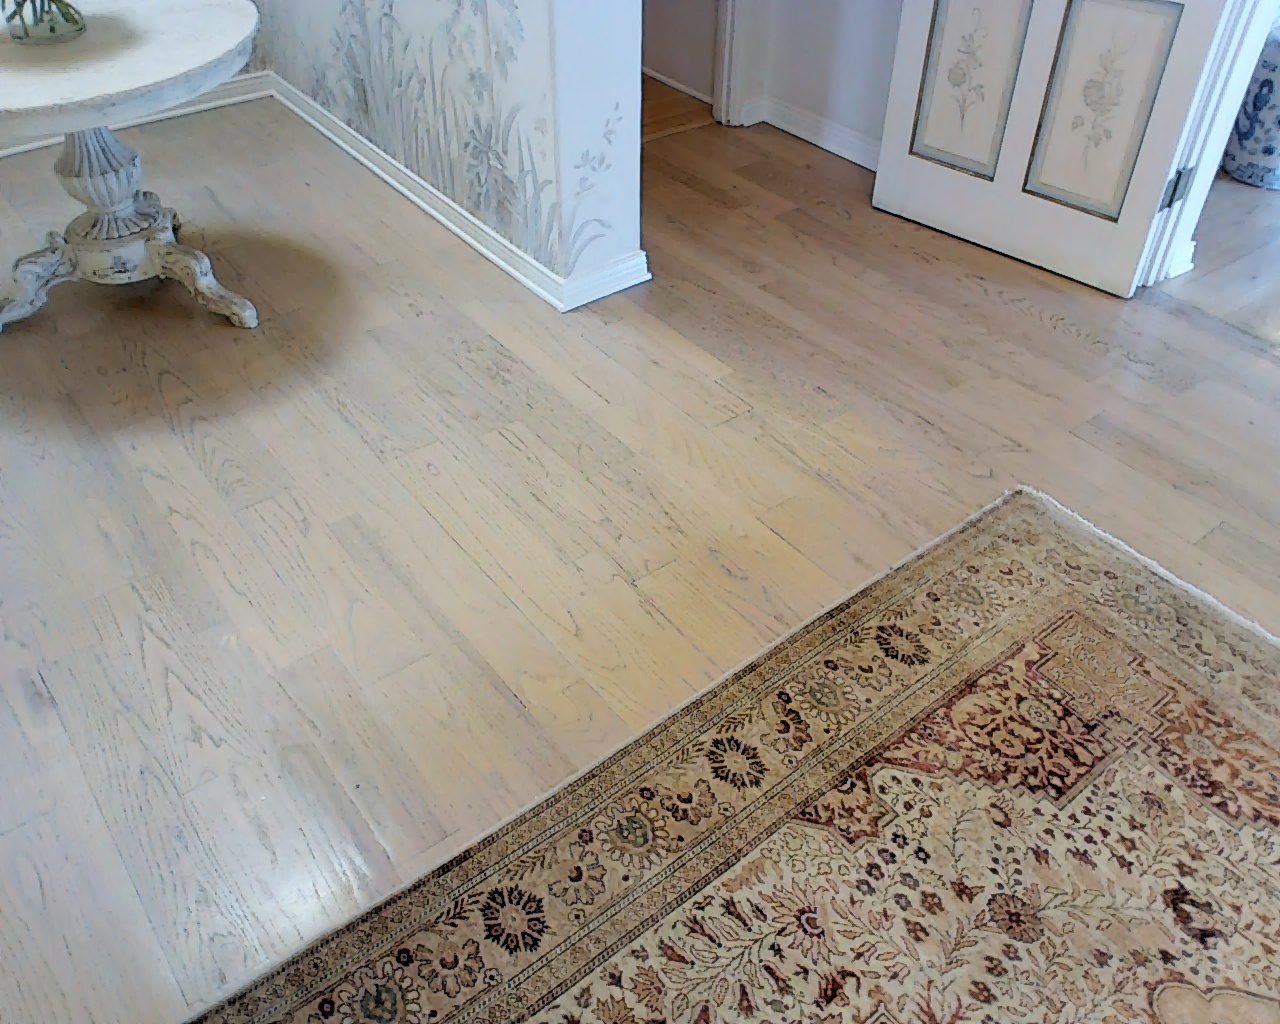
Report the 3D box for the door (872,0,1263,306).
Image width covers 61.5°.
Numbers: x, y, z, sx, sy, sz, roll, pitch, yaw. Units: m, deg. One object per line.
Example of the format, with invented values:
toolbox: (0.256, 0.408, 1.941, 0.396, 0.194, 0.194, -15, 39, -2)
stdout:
door: (1.180, -1.810, 2.630, 0.970, 2.540, 0.090, 33, 51, 31)
